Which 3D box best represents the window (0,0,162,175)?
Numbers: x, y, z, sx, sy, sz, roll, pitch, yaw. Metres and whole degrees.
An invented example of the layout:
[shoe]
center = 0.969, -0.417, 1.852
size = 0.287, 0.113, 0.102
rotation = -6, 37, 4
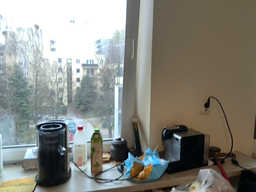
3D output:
[window]
center = -0.470, -0.280, 1.240
size = 1.300, 1.420, 0.220
rotation = 0, 7, -11
